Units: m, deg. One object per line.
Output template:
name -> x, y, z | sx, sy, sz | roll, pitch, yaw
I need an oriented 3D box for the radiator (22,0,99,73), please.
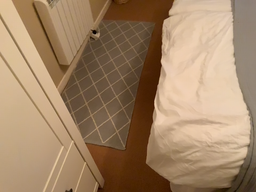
radiator -> -0.500, -0.710, 1.830 | 0.090, 0.630, 0.810 | 10, 52, 14
